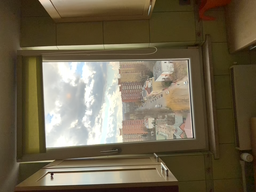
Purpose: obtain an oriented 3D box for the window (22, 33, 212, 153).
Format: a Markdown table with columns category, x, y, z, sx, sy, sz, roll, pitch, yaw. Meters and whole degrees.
| category | x | y | z | sx | sy | sz | roll | pitch | yaw |
| --- | --- | --- | --- | --- | --- | --- | --- | --- | --- |
| window | -0.080 | -0.030 | 1.600 | 0.180 | 1.320 | 0.810 | 121 | 147 | -86 |
